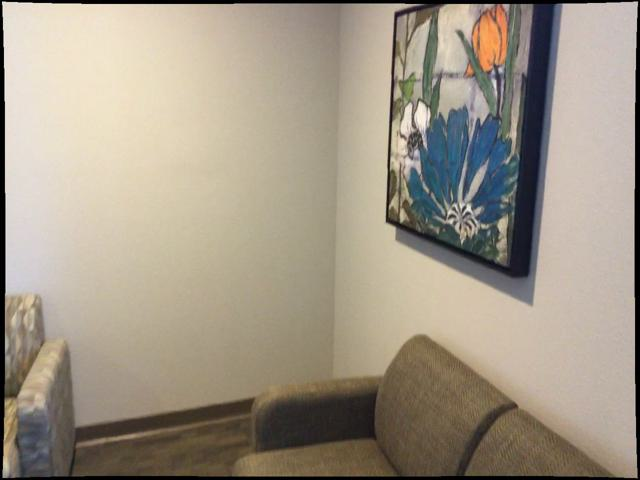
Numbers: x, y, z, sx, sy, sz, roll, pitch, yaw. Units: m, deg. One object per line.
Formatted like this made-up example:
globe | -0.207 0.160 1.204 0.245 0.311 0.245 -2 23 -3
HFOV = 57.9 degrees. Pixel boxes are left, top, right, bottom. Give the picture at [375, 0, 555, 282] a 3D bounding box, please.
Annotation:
picture | 0.420 -0.380 1.940 0.090 0.811 0.840 -9 18 -20
